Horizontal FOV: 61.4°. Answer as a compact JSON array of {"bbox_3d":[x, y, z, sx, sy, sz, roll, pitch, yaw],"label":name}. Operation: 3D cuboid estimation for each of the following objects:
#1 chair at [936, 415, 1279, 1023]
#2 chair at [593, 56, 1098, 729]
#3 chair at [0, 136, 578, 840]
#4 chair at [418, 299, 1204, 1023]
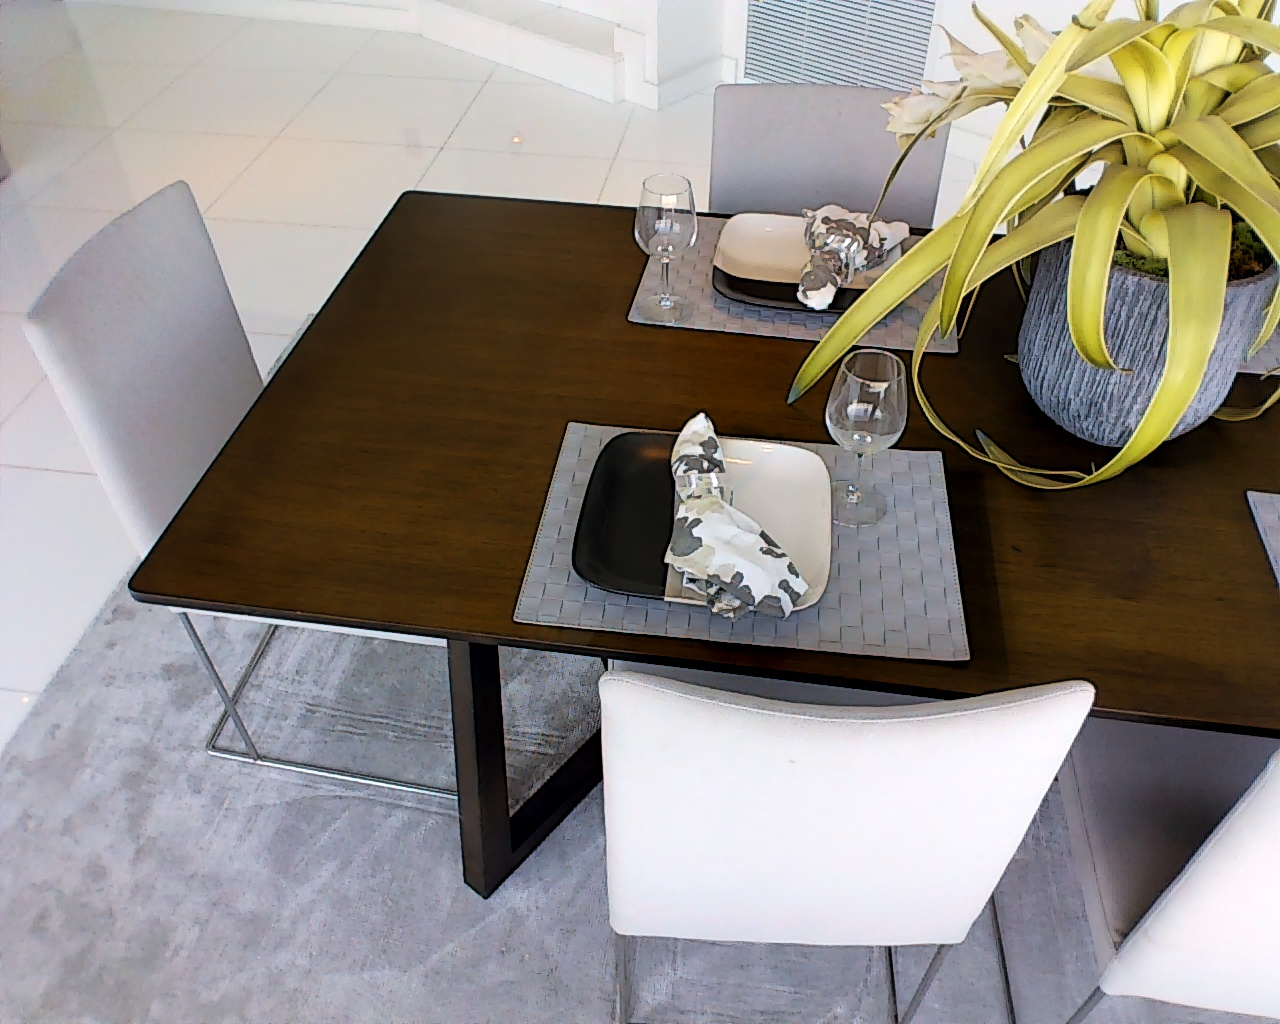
[{"bbox_3d":[0.730,0.410,1.200,0.550,0.920,0.460,2,42,2],"label":"chair"},{"bbox_3d":[0.300,-0.210,1.910,0.630,0.890,0.700,6,42,6],"label":"chair"},{"bbox_3d":[-0.460,-0.020,1.690,0.590,0.890,0.560,7,42,7],"label":"chair"},{"bbox_3d":[0.140,0.290,1.350,0.600,0.880,0.620,2,42,2],"label":"chair"}]
